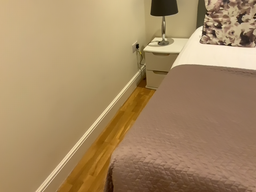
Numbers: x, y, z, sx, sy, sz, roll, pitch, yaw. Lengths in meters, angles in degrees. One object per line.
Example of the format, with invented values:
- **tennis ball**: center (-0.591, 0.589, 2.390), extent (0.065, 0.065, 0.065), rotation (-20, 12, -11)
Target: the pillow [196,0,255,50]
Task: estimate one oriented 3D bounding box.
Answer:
- **pillow**: center (0.810, -0.590, 1.680), extent (0.410, 0.370, 0.120), rotation (-6, 43, 37)
